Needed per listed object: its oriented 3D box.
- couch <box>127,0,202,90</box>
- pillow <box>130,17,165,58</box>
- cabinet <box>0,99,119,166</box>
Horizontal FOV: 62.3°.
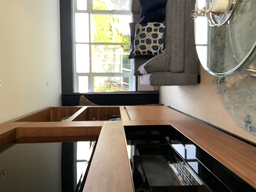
[{"bbox_3d":[0.440,-1.760,3.010,1.200,0.790,3.290,-134,44,-84],"label":"couch"},{"bbox_3d":[0.280,-0.800,2.970,0.130,0.490,0.480,9,99,59],"label":"pillow"},{"bbox_3d":[-0.840,0.420,3.160,1.580,1.360,0.610,-131,41,-84],"label":"cabinet"}]
